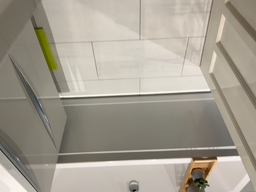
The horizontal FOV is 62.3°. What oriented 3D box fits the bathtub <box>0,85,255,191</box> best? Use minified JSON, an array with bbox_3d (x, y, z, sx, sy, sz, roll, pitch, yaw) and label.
[{"bbox_3d":[0.050,0.410,1.680,1.660,0.560,0.690,-4,136,1],"label":"bathtub"}]
